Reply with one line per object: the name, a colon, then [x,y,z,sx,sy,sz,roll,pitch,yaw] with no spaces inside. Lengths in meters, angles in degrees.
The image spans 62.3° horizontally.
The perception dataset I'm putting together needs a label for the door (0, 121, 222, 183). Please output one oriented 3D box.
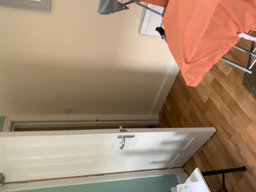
door: [-0.170,0.530,2.080,0.750,2.120,0.150,114,150,-47]
